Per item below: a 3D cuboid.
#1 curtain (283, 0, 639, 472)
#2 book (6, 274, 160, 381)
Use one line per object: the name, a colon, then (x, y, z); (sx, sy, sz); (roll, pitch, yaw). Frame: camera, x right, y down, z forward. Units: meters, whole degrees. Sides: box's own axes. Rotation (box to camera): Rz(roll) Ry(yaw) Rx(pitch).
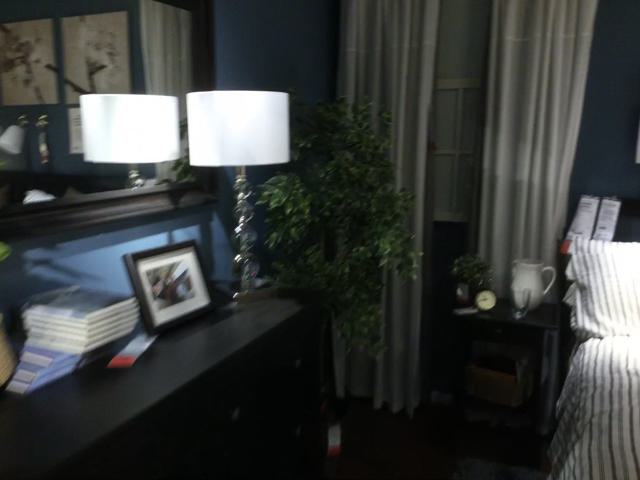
curtain: (0.640, -0.310, 2.710); (1.520, 2.460, 0.380); (2, 12, 32)
book: (-0.600, 0.210, 1.480); (0.250, 0.180, 0.240); (2, 12, 32)
